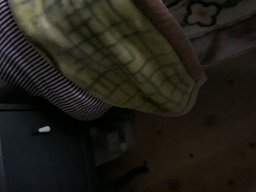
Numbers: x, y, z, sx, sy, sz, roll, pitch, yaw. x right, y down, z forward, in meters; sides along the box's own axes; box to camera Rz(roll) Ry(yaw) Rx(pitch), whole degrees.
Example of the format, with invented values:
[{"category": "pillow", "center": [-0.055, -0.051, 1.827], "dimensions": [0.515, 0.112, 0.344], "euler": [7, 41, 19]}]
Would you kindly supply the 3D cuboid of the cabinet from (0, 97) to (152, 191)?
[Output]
[{"category": "cabinet", "center": [-0.300, 0.260, 0.910], "dimensions": [0.410, 0.740, 0.400], "euler": [-21, 77, 33]}]
